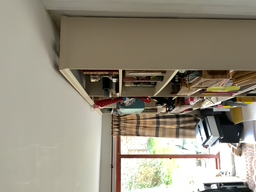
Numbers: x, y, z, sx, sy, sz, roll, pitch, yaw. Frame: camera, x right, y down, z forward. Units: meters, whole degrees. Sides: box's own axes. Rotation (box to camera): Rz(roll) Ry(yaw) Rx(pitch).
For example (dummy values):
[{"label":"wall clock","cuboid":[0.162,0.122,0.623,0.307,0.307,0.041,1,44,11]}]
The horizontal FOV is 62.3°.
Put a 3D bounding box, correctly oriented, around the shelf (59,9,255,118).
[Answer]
[{"label":"shelf","cuboid":[0.500,-0.050,2.480,2.630,1.860,0.310,104,167,-78]}]
